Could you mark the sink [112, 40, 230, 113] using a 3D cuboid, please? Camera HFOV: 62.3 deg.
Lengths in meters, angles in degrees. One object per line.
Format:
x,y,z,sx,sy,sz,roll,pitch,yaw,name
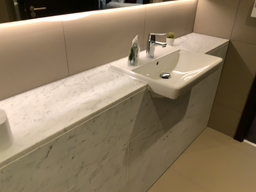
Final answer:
0.270,-0.170,1.310,0.480,0.150,0.560,26,38,34,sink
